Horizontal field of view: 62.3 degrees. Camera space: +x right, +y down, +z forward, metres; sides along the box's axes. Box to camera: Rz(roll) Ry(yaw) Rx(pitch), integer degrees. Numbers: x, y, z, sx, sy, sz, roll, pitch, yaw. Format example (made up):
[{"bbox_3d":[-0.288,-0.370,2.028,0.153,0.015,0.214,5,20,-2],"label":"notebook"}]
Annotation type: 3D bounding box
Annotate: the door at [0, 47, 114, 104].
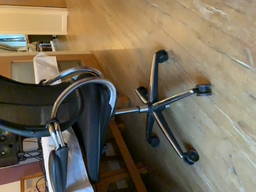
[{"bbox_3d":[-1.190,-0.250,2.210,0.860,1.900,0.130,-124,36,-45],"label":"door"}]
